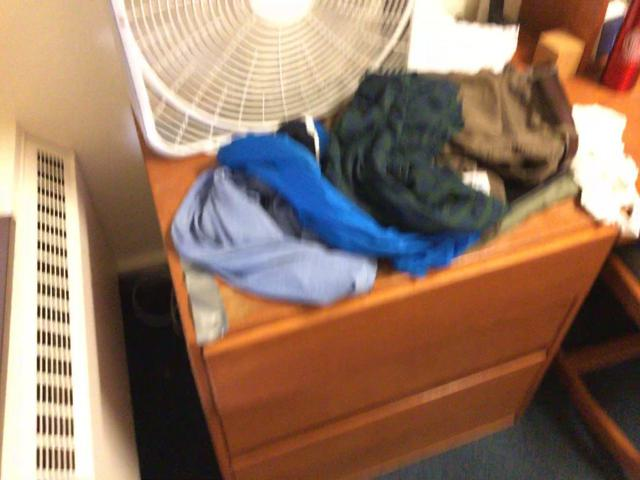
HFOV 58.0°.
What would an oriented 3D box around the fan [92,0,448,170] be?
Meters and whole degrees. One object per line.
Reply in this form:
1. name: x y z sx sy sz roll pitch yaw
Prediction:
1. fan: -0.080 -0.440 0.950 0.550 0.540 0.200 -13 48 -9
